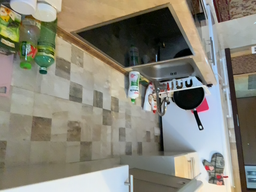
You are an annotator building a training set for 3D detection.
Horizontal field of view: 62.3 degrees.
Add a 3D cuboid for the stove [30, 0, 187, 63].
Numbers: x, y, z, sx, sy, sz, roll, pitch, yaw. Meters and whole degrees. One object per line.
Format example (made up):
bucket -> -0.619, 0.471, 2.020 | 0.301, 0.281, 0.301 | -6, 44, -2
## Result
stove -> -0.040, -0.340, 1.090 | 0.530, 0.030, 0.660 | -7, 166, 27
